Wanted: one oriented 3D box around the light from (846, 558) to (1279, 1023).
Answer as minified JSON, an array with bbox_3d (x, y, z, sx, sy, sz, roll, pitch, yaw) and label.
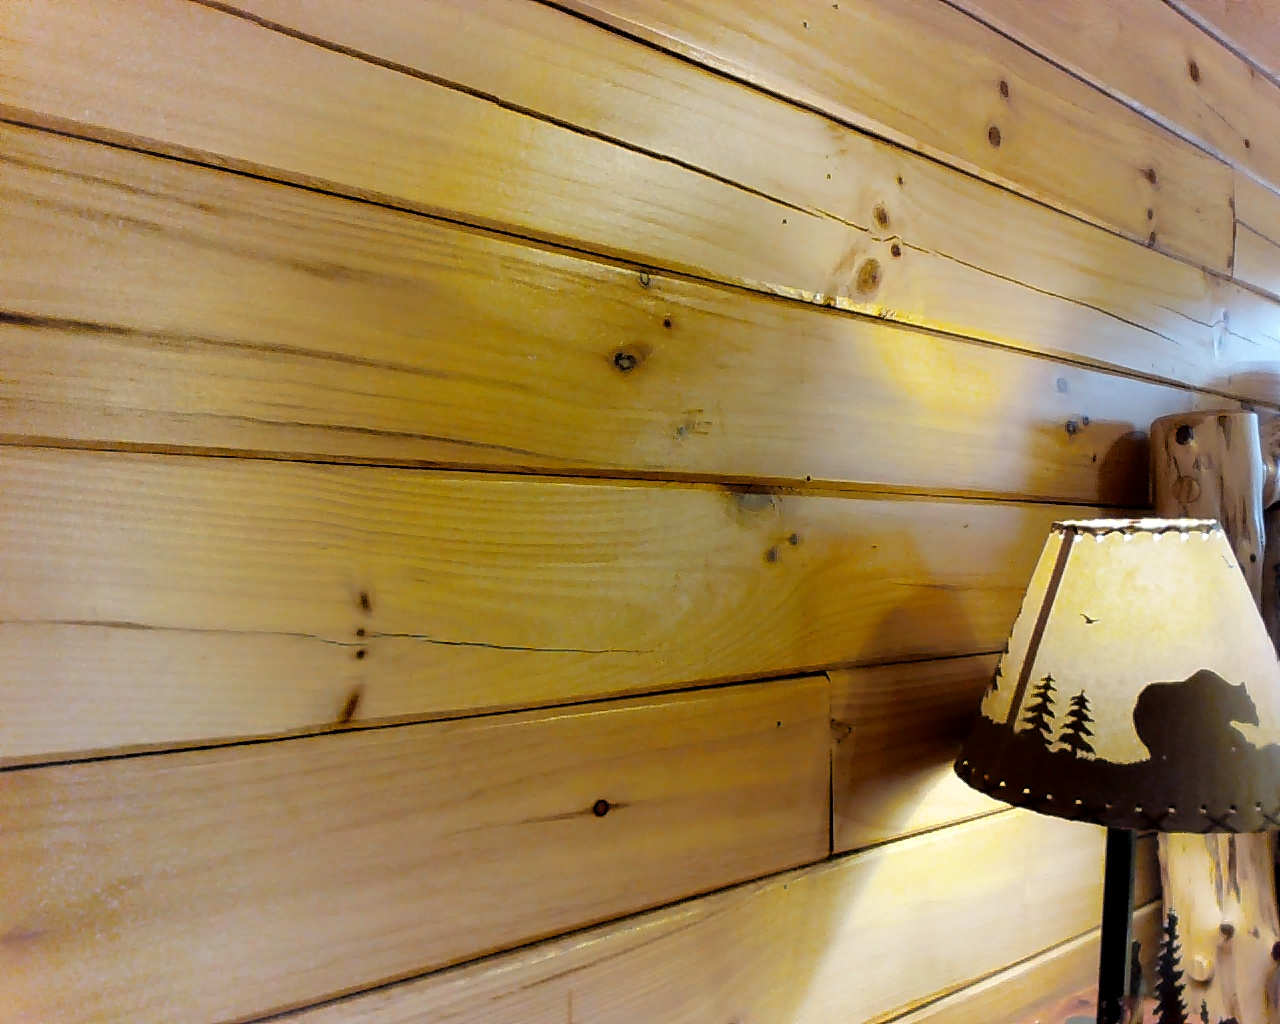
[{"bbox_3d":[0.500,0.310,1.070,0.470,0.510,0.360,2,-1,-42],"label":"light"}]
